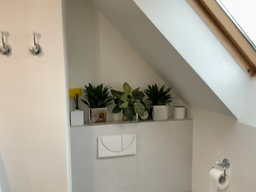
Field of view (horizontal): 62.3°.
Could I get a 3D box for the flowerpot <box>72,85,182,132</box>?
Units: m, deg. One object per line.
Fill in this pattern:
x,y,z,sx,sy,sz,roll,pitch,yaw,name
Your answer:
0.000,0.090,1.910,0.970,0.350,0.180,-2,7,-15,flowerpot
